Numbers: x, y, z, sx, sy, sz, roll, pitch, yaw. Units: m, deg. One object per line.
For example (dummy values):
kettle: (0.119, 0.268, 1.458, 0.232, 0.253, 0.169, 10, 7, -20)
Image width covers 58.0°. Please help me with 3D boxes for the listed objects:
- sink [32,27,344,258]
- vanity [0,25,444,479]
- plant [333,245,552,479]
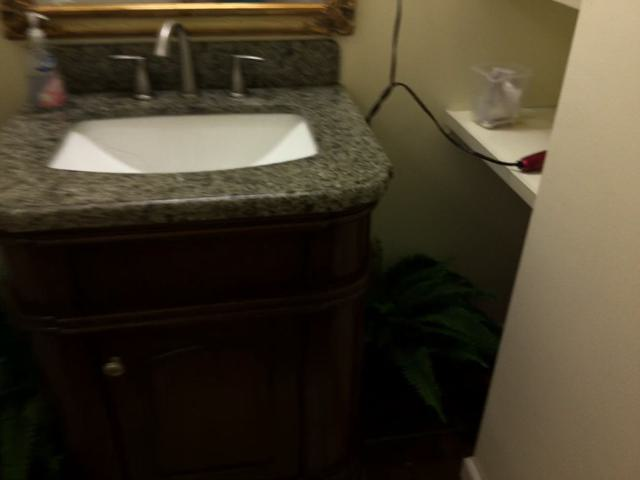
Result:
sink: (-0.240, -0.220, 1.170, 0.490, 0.320, 0.380, -4, 33, -10)
vanity: (-0.240, 0.120, 1.290, 0.710, 1.020, 0.590, -4, 33, -10)
plant: (0.280, 0.320, 1.560, 0.390, 0.400, 0.460, -4, 33, -10)
